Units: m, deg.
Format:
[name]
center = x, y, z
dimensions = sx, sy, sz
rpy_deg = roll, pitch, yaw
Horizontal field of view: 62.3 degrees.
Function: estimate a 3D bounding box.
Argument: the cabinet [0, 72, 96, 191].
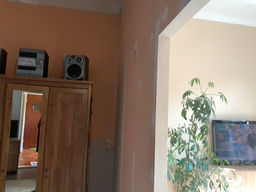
[cabinet]
center = -1.110, 0.750, 2.380
dimensions = 1.300, 1.890, 0.630
rpy_deg = 5, -5, -14
